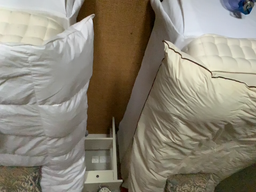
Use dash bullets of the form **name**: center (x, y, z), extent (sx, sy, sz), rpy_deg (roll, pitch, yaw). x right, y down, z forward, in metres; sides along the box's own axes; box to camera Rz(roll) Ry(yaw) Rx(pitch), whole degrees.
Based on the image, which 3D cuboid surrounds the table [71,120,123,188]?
- **table**: center (-0.360, 0.650, 2.410), extent (0.520, 0.670, 0.300), rpy_deg (4, 145, -13)
